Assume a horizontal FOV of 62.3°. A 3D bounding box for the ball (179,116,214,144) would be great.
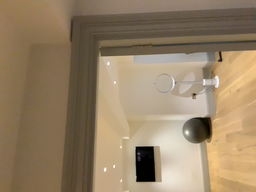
[{"bbox_3d":[1.790,0.920,5.640,0.660,0.670,0.640,79,-170,-72],"label":"ball"}]
